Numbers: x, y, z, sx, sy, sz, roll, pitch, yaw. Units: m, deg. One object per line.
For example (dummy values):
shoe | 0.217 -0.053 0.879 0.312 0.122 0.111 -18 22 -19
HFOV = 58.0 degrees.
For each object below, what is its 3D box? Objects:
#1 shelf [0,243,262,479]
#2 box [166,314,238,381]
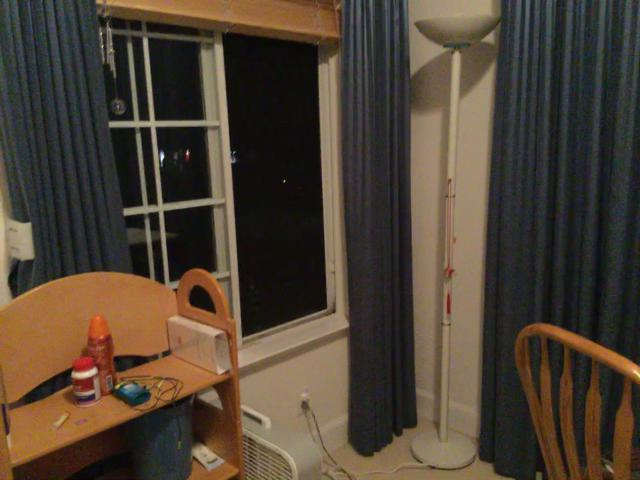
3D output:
shelf | -0.580 0.600 1.580 0.430 1.030 0.700 7 16 44
box | -0.350 0.310 1.700 0.260 0.130 0.060 7 16 44
